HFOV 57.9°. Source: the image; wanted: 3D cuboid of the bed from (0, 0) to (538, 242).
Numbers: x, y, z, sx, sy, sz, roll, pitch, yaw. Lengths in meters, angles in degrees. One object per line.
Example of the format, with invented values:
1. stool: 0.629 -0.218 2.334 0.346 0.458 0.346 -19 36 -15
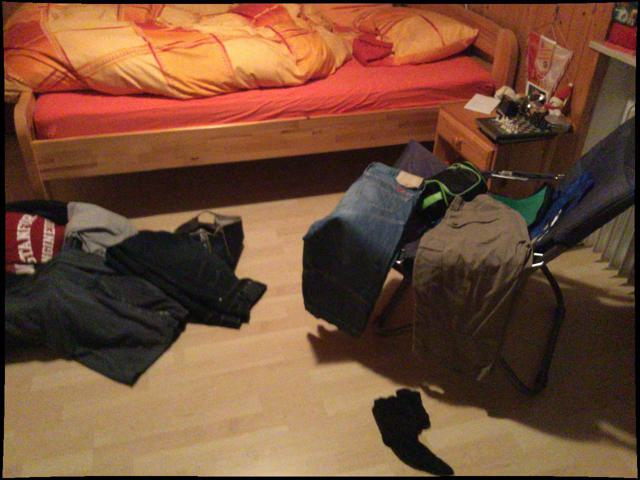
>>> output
1. bed: -0.390 -0.901 2.970 2.258 0.801 1.510 -8 36 -12
